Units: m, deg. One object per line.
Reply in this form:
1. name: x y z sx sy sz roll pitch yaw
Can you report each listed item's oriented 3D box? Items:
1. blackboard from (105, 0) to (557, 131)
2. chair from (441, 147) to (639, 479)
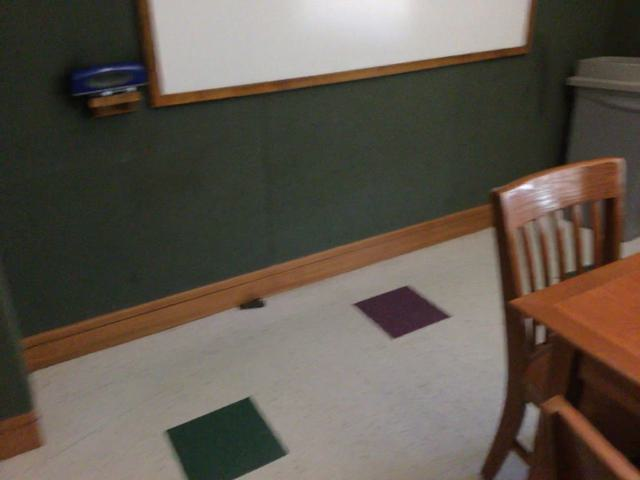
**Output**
1. blackboard: 0.150 -1.110 2.150 1.870 1.060 0.200 -16 27 -23
2. chair: 0.690 0.320 1.360 0.540 0.880 0.560 -17 28 -26
